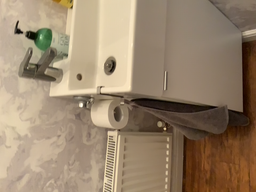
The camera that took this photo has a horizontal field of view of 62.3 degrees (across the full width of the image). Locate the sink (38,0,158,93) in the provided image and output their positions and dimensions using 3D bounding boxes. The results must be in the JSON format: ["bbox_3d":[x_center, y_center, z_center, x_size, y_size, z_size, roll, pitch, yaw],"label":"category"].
[{"bbox_3d":[-0.110,-0.220,0.660,0.400,0.130,0.400,-1,82,45],"label":"sink"}]
